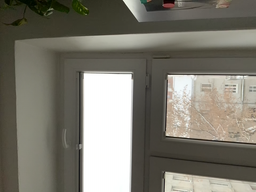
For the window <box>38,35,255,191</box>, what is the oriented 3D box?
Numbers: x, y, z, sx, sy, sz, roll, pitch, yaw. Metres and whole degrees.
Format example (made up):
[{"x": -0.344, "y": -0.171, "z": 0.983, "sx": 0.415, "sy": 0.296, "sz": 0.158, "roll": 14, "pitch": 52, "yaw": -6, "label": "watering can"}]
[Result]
[{"x": 0.360, "y": 0.300, "z": 1.140, "sx": 0.170, "sy": 1.790, "sz": 1.190, "roll": -24, "pitch": -64, "yaw": -74, "label": "window"}]
